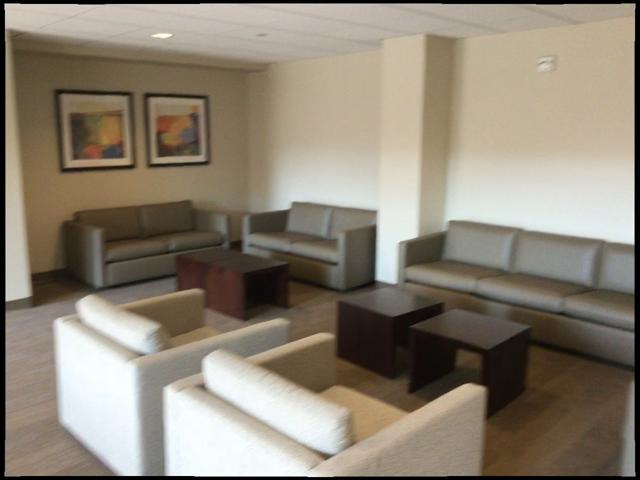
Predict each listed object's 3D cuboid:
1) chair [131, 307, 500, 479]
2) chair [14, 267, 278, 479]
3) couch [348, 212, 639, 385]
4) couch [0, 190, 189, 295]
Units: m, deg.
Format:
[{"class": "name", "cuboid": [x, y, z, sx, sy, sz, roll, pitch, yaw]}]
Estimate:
[{"class": "chair", "cuboid": [-0.020, 0.802, 2.130, 0.999, 0.731, 0.859, 11, 14, 38]}, {"class": "chair", "cuboid": [-0.838, 0.641, 2.820, 0.969, 0.731, 0.799, 11, 14, 38]}, {"class": "couch", "cuboid": [1.477, 0.331, 4.610, 2.387, 0.741, 0.929, 11, 14, 37]}, {"class": "couch", "cuboid": [-2.275, -0.050, 5.860, 0.879, 0.721, 1.649, 11, 14, 37]}]
